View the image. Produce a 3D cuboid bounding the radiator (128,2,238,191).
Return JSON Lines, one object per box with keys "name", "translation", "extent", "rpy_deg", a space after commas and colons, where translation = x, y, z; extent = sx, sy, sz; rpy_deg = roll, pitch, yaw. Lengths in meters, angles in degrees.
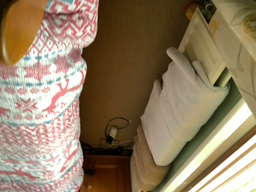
{"name": "radiator", "translation": [0.180, 0.230, 1.400], "extent": [0.140, 0.570, 1.440], "rpy_deg": [2, 138, -8]}
